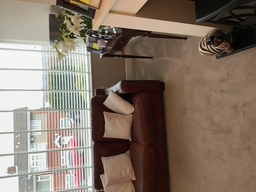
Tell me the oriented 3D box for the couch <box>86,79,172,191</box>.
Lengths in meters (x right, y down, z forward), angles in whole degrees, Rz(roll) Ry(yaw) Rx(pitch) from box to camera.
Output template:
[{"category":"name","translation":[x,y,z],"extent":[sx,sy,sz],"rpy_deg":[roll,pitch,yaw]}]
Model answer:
[{"category":"couch","translation":[-0.060,0.620,2.900],"extent":[1.050,0.790,1.580],"rpy_deg":[174,95,-68]}]
